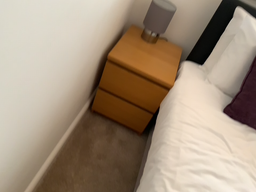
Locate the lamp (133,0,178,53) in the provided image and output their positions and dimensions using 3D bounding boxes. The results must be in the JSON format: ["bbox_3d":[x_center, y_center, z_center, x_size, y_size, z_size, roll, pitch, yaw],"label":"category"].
[{"bbox_3d":[0.180,-0.470,1.400,0.180,0.250,0.200,25,42,-1],"label":"lamp"}]
